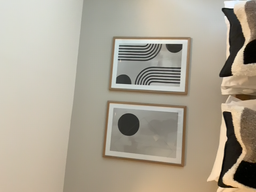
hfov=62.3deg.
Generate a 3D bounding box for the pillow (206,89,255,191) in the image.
[{"bbox_3d":[0.830,0.390,1.570,0.410,0.370,0.800,40,-125,-77],"label":"pillow"}]

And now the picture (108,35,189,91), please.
[{"bbox_3d":[0.190,-0.320,2.000,0.060,0.720,0.490,40,-125,-77],"label":"picture"}]

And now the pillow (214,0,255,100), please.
[{"bbox_3d":[0.880,-0.350,1.540,0.360,0.360,0.750,-4,-82,-80],"label":"pillow"}]

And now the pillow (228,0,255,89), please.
[{"bbox_3d":[0.790,-0.320,1.270,0.120,0.300,0.550,19,-105,-79],"label":"pillow"}]

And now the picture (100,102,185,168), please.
[{"bbox_3d":[0.130,0.340,1.930,0.040,0.730,0.510,40,-125,-77],"label":"picture"}]
